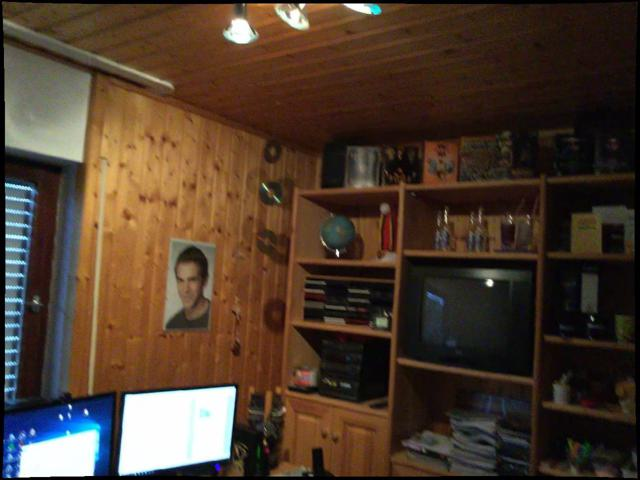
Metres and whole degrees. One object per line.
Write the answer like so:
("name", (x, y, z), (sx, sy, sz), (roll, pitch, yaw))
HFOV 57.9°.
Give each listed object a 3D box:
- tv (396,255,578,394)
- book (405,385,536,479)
("tv", (0.779, 0.360, 2.710), (0.680, 0.531, 0.440), (2, -3, 37))
("book", (0.709, 0.871, 2.690), (0.430, 0.250, 0.470), (2, -3, 37))
